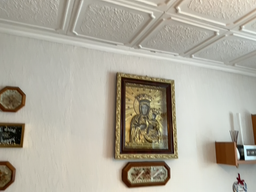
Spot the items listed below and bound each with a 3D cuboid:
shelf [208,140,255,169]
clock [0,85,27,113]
[{"bbox_3d":[1.060,0.520,1.910,0.710,0.220,0.160,6,-16,-23],"label":"shelf"},{"bbox_3d":[-0.730,0.020,1.330,0.160,0.160,0.050,6,-15,-21],"label":"clock"}]
